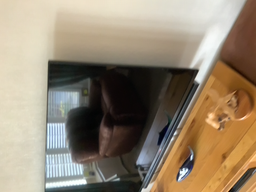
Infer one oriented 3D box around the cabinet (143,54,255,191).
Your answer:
[{"bbox_3d":[0.600,0.440,1.500,0.500,0.480,1.340,-120,37,-45],"label":"cabinet"}]
